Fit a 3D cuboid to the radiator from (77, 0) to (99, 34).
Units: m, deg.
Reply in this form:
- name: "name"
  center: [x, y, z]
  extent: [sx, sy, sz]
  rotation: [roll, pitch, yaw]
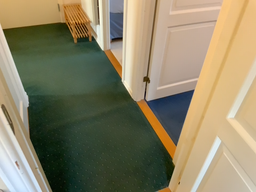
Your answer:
- name: "radiator"
  center: [-0.570, -1.270, 2.890]
  extent: [0.130, 0.570, 0.710]
  rotation: [-13, 44, -18]
